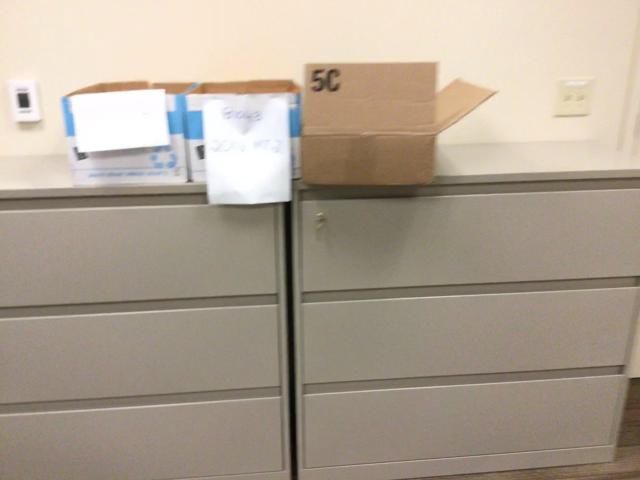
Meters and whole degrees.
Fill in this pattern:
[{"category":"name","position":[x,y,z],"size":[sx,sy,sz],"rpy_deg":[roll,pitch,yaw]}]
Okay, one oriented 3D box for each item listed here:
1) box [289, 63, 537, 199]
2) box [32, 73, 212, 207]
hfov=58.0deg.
[{"category":"box","position":[0.210,-0.340,1.660],"size":[0.550,0.300,0.590],"rpy_deg":[-3,17,-6]},{"category":"box","position":[-0.520,-0.310,1.650],"size":[0.360,0.310,0.480],"rpy_deg":[-3,17,-6]}]
